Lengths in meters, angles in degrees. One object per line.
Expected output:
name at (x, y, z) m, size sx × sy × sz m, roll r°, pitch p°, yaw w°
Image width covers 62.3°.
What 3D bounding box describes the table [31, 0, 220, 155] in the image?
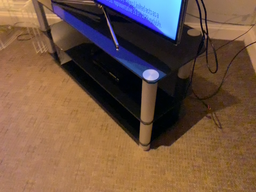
table at (-0.110, -0.280, 1.390) m, size 0.460 × 0.530 × 1.150 m, roll -31°, pitch 53°, yaw -26°
